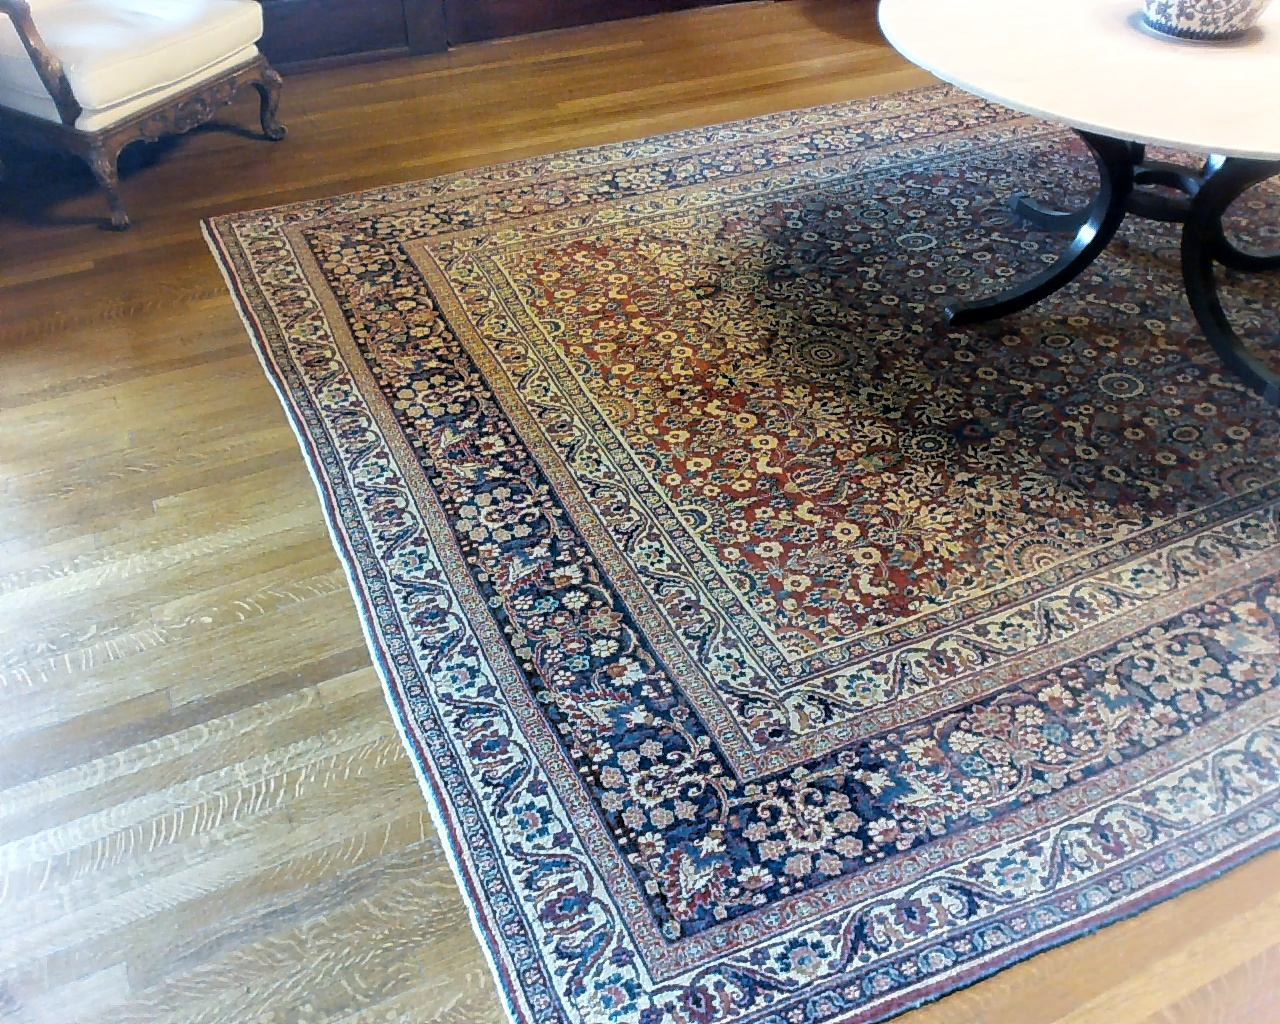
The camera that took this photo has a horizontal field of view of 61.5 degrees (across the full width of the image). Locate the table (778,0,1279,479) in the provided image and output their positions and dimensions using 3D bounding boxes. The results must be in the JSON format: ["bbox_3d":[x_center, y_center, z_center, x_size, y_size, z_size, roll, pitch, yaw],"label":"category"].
[{"bbox_3d":[1.380,-0.960,2.870,1.590,0.750,1.570,-7,42,-7],"label":"table"}]
